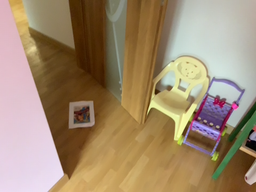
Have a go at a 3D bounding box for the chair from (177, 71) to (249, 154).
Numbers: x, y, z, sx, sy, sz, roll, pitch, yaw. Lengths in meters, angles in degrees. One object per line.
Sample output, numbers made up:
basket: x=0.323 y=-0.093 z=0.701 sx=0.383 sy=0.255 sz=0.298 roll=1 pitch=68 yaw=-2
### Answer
chair: x=0.610 y=0.130 z=1.580 sx=0.280 sy=0.490 sz=0.280 roll=29 pitch=49 yaw=21

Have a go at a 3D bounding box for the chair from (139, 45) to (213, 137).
chair: x=0.350 y=-0.030 z=1.660 sx=0.350 sy=0.550 sz=0.310 roll=29 pitch=49 yaw=21
